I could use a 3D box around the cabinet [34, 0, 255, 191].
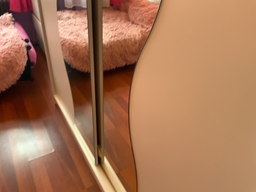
[{"bbox_3d":[0.050,-0.400,1.010,0.620,2.160,1.840,-16,41,-27],"label":"cabinet"}]
